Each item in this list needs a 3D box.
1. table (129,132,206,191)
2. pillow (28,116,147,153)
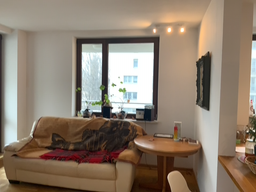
[{"bbox_3d":[0.570,1.040,3.190,0.950,0.740,0.970,2,2,10],"label":"table"},{"bbox_3d":[-0.690,0.640,3.630,2.000,0.500,0.190,1,27,11],"label":"pillow"}]
